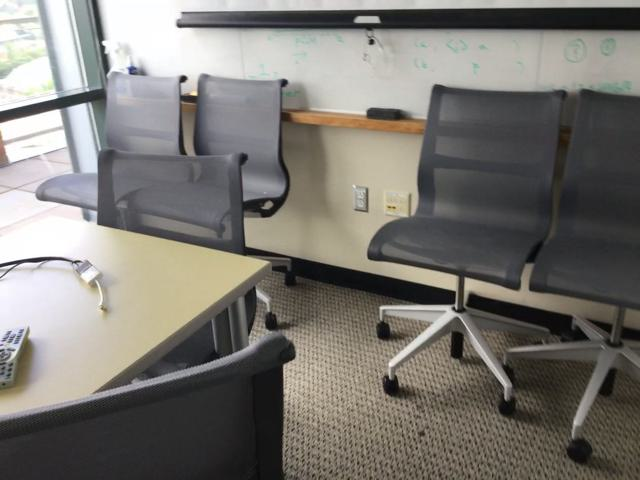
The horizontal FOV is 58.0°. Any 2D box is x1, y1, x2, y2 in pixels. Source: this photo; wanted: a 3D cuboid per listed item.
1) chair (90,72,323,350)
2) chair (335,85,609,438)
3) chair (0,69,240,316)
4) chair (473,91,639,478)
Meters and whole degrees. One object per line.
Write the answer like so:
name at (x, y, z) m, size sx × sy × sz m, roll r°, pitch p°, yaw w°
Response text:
chair at (-0.420, -0.170, 2.420) m, size 0.600 × 0.940 × 0.610 m, roll 11°, pitch 27°, yaw 29°
chair at (0.500, 0.010, 1.950) m, size 0.670 × 0.930 × 0.580 m, roll 11°, pitch 27°, yaw 29°
chair at (-0.870, -0.270, 2.630) m, size 0.620 × 0.880 × 0.700 m, roll 11°, pitch 27°, yaw 29°
chair at (0.890, 0.100, 1.710) m, size 0.650 × 0.940 × 0.580 m, roll 11°, pitch 27°, yaw 29°
